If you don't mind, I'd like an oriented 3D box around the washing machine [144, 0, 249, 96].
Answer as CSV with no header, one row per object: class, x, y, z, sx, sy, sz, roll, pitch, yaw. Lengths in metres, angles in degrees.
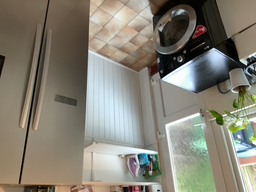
washing machine,0.680,-0.580,2.230,0.770,0.840,0.580,18,147,-37
